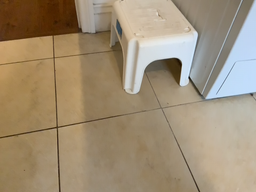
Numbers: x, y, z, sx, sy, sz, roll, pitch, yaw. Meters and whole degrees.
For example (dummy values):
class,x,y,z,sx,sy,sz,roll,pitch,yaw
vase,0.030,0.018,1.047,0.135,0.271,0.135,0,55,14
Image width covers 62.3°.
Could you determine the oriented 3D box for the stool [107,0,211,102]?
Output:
class,x,y,z,sx,sy,sz,roll,pitch,yaw
stool,0.090,-0.230,0.920,0.290,0.250,0.400,-9,50,-11
